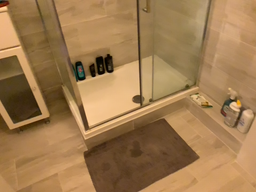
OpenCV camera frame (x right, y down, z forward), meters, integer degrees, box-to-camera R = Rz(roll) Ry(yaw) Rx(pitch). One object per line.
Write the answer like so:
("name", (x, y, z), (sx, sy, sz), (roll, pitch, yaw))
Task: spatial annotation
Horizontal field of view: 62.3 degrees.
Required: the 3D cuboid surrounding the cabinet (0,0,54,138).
("cabinet", (-1.000, -0.190, 1.750), (0.380, 1.090, 0.350), (-21, 44, -18))
